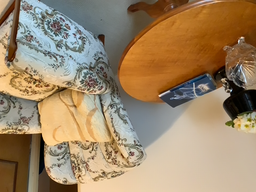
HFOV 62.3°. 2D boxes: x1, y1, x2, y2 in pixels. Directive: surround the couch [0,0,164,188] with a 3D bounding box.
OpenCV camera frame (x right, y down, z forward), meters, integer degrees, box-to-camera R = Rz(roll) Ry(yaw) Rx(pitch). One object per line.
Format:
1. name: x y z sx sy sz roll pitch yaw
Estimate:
1. couch: -0.410 -0.010 1.210 0.740 0.860 0.800 -29 146 31
